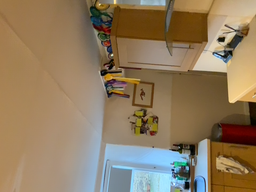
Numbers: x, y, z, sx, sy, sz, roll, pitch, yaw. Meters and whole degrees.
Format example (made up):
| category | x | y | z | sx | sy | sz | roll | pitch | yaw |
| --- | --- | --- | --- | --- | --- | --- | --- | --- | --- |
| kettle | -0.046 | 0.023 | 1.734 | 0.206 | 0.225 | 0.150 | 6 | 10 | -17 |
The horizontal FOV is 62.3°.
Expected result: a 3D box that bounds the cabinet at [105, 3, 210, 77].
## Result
| category | x | y | z | sx | sy | sz | roll | pitch | yaw |
| --- | --- | --- | --- | --- | --- | --- | --- | --- | --- |
| cabinet | 0.260 | -0.510 | 2.060 | 0.600 | 0.850 | 0.340 | 86 | -170 | -70 |
